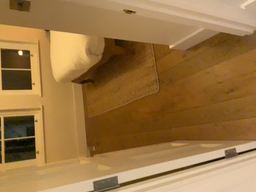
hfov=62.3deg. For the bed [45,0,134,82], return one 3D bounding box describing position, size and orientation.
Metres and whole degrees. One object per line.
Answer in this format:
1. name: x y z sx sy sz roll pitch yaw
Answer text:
1. bed: -0.710 -1.370 3.110 1.480 0.680 2.040 -20 75 58
